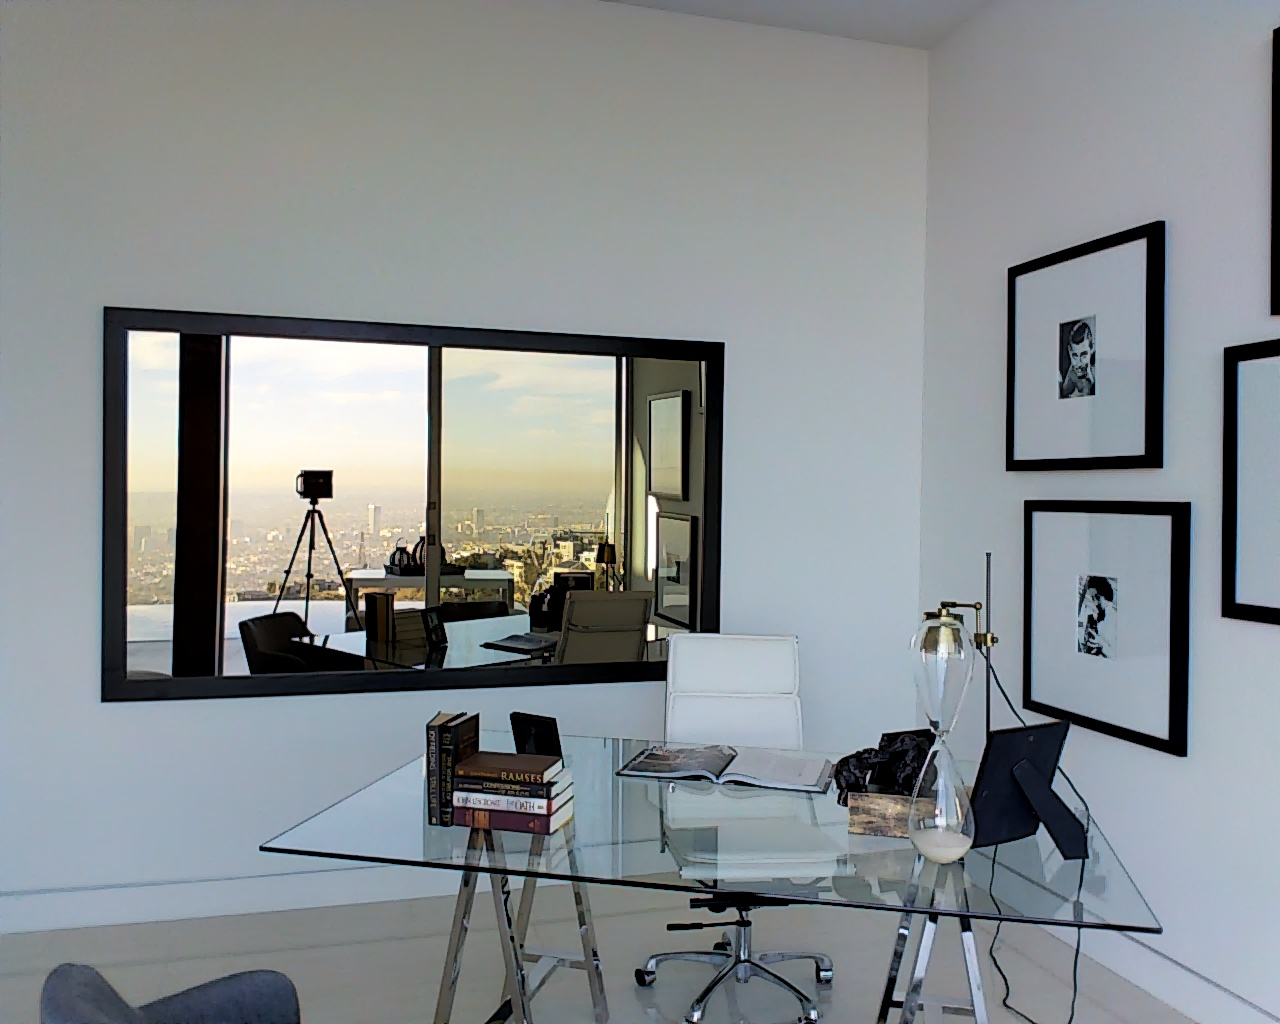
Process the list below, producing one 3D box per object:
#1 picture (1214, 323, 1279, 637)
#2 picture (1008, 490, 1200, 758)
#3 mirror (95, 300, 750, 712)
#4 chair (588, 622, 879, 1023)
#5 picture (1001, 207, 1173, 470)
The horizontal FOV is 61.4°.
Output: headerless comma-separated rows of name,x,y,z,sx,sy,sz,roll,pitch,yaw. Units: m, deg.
picture,1.750,-0.080,2.650,0.060,0.820,0.780,0,1,-16
picture,1.490,0.320,3.540,0.070,0.780,0.810,0,1,-16
mirror,-0.710,-0.020,3.970,2.320,1.360,0.170,0,1,-17
chair,0.320,0.920,3.230,0.720,1.060,0.850,1,1,15
picture,1.460,-0.530,3.590,0.060,0.770,0.760,0,1,-16
